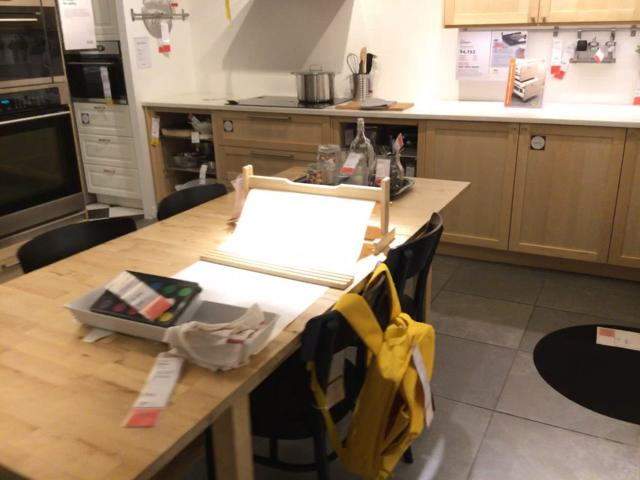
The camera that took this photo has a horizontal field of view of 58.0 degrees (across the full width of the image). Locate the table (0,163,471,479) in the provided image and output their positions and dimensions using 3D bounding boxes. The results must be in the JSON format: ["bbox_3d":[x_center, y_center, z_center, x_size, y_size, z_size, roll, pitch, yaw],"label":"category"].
[{"bbox_3d":[-0.240,0.360,1.970,0.950,0.750,2.140,8,22,26],"label":"table"}]

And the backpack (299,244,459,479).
[{"bbox_3d":[0.170,0.360,1.510,0.270,0.580,0.370,8,22,26],"label":"backpack"}]
